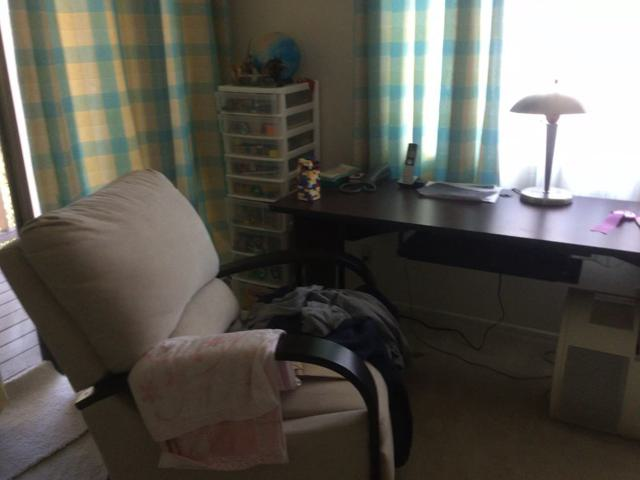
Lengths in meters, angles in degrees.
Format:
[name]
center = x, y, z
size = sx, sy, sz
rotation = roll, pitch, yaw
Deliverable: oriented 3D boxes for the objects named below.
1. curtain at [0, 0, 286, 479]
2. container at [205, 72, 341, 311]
[curtain]
center = -0.980, -0.040, 1.920
size = 0.530, 1.500, 2.250
rotation = 7, 22, 28
[container]
center = -0.190, -0.240, 2.700
size = 0.390, 1.010, 0.410
rotation = 7, 22, 27
